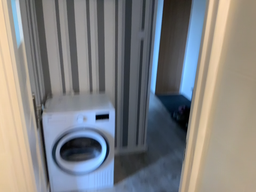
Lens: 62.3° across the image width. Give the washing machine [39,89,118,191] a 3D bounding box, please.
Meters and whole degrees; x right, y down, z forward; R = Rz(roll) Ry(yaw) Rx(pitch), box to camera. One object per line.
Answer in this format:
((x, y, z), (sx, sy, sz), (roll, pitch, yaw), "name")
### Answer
((-0.480, 0.430, 2.120), (0.640, 0.850, 0.500), (-4, 22, -17), "washing machine")
